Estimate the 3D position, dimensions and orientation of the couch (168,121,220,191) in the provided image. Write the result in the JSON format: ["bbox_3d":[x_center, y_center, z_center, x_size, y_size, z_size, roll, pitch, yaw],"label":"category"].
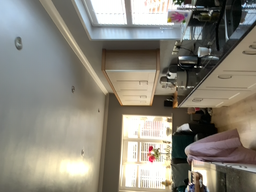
[{"bbox_3d":[1.360,1.620,4.640,1.080,0.840,2.010,77,-165,-76],"label":"couch"}]
